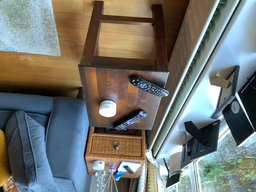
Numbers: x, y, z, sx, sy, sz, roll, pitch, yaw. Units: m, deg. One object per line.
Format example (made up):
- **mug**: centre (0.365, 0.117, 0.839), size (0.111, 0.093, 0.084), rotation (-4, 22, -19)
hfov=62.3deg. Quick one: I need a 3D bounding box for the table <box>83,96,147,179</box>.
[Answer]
- **table**: centre (-0.100, 0.360, 1.780), size (0.430, 0.490, 0.500), rotation (5, 143, -3)
